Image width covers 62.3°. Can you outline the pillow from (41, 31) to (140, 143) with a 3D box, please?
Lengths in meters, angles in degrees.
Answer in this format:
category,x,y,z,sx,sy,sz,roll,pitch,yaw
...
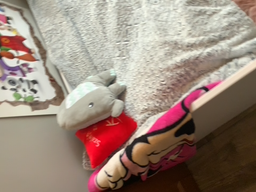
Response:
category,x,y,z,sx,sy,sz,roll,pitch,yaw
pillow,-0.200,-0.030,1.010,0.370,0.200,0.340,-43,62,33

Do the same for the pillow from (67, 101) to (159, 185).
category,x,y,z,sx,sy,sz,roll,pitch,yaw
pillow,-0.080,0.200,0.910,0.340,0.170,0.200,-43,62,32
